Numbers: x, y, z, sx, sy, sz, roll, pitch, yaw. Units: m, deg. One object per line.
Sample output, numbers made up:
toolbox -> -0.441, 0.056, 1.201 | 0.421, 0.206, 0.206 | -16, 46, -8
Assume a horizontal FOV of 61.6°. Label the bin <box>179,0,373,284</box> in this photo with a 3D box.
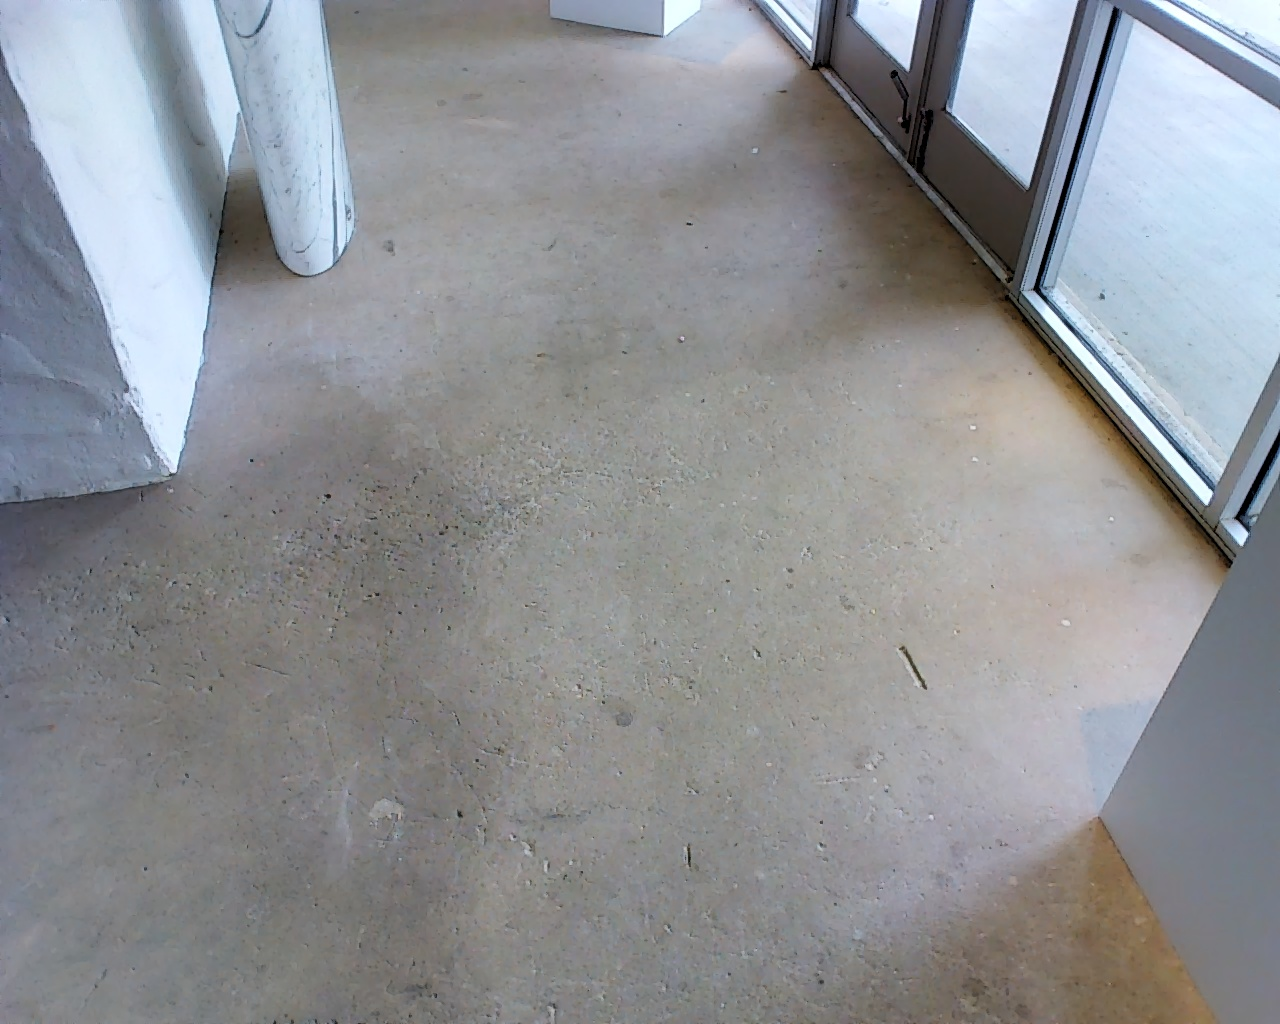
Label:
bin -> -0.950, -1.230, 2.850 | 0.310, 0.950, 0.750 | -8, 44, -9
